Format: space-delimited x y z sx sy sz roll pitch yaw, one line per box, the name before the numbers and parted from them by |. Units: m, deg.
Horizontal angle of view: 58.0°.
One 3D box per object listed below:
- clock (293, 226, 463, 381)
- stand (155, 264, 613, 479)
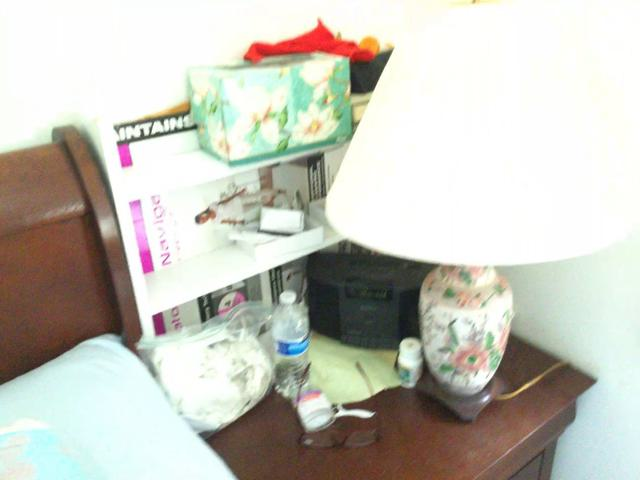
clock | 0.110 0.110 1.140 0.210 0.160 0.250 -20 29 -34
stand | 0.140 0.550 1.100 0.670 0.760 0.380 -20 29 -34
